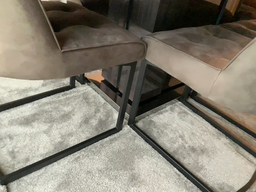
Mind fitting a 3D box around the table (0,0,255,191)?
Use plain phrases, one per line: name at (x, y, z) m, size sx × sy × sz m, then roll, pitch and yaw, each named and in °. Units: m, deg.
table at (0.270, -0.390, 1.190) m, size 1.580 × 0.770 × 0.970 m, roll -23°, pitch 48°, yaw -40°
